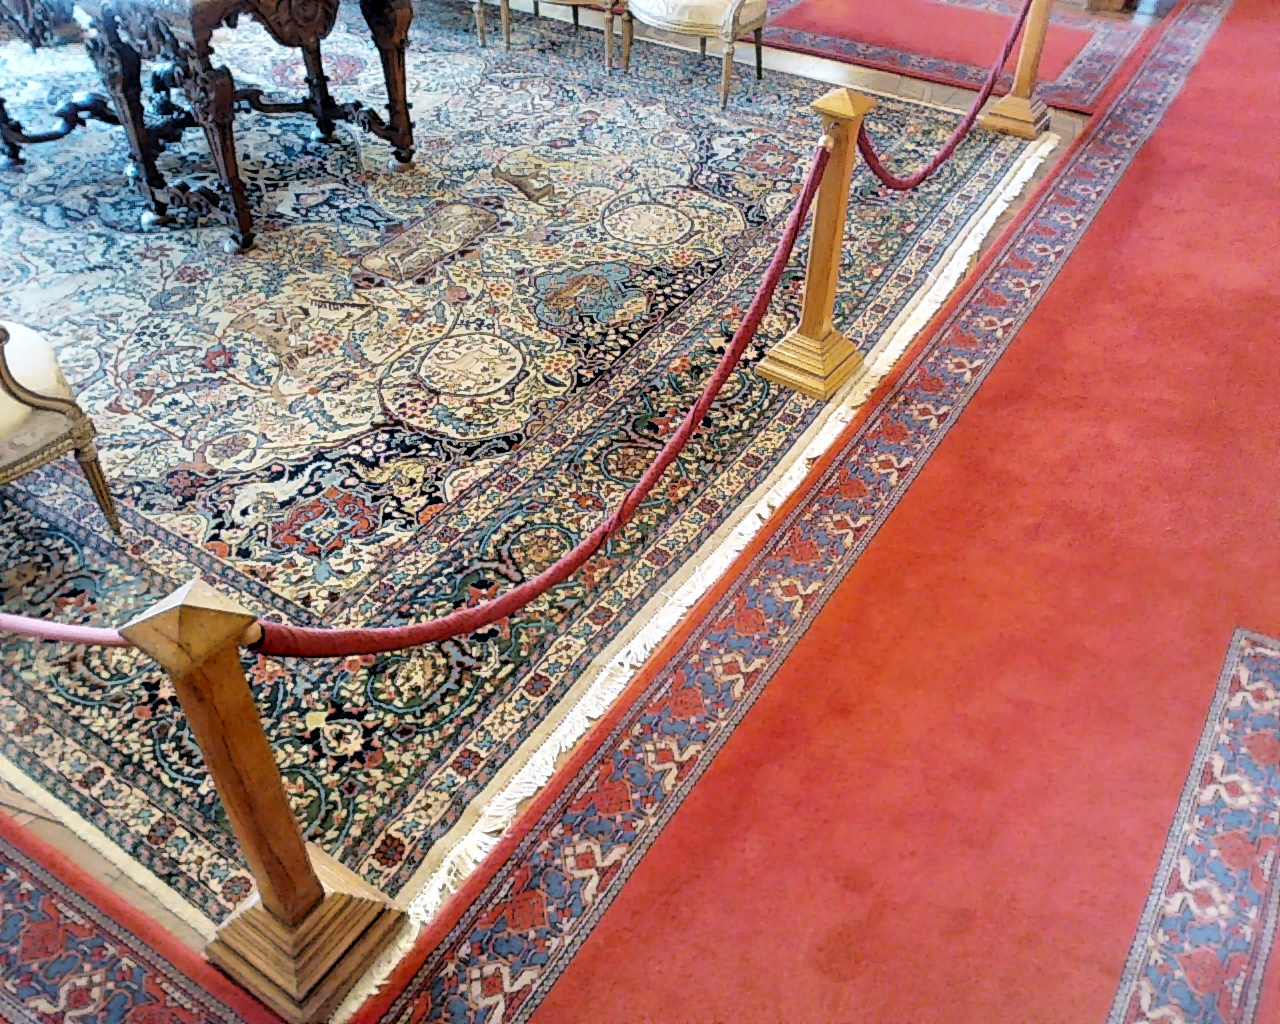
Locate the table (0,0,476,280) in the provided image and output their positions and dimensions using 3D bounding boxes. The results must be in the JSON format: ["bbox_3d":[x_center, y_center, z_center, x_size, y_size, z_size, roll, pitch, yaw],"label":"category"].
[{"bbox_3d":[-1.710,-1.670,3.780,1.960,0.830,1.020,23,47,24],"label":"table"}]
